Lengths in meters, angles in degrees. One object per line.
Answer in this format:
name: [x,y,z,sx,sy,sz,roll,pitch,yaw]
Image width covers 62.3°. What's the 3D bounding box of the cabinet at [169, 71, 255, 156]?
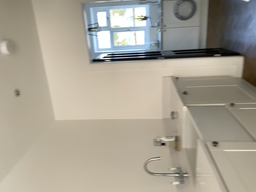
cabinet: [0.980,0.140,2.390,0.950,0.910,0.580,-80,-12,-68]
